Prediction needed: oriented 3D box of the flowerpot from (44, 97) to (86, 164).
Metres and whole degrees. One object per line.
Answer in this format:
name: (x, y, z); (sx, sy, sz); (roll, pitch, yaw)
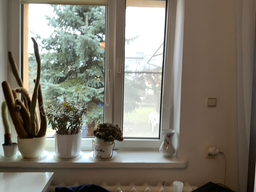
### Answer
flowerpot: (-0.510, 0.270, 1.750); (0.280, 0.510, 0.190); (2, 3, 0)

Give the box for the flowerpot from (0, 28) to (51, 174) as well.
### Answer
flowerpot: (-0.820, 0.030, 1.600); (0.350, 0.980, 0.340); (2, 3, 0)

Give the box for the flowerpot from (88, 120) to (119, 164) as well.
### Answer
flowerpot: (-0.200, 0.380, 1.800); (0.230, 0.310, 0.250); (2, 3, -1)
